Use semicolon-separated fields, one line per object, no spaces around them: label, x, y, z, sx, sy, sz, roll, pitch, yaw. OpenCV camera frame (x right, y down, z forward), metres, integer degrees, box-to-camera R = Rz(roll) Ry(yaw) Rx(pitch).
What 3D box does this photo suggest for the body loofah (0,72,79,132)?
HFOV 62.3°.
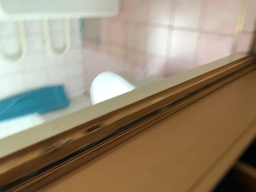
body loofah;-0.940;0.070;1.790;0.160;1.100;0.300;22;121;40
